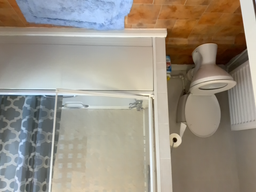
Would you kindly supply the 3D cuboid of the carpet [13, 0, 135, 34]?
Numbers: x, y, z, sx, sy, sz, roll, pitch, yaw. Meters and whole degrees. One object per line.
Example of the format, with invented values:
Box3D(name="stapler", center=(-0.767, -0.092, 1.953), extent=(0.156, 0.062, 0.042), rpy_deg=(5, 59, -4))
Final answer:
Box3D(name="carpet", center=(-0.390, -0.630, 1.550), extent=(0.790, 0.050, 0.440), rpy_deg=(3, 167, -13))
